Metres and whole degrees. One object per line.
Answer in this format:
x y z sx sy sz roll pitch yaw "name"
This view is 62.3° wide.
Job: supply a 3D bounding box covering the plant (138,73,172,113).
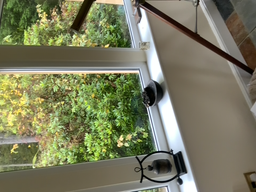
0.200 -0.020 1.660 0.230 0.140 0.230 117 146 -57 "plant"
